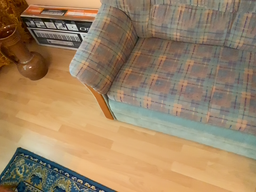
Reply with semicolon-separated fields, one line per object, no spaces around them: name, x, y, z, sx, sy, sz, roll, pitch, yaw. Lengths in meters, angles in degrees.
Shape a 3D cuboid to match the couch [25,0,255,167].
couch;0.550;-0.270;1.250;1.690;0.870;0.940;13;60;21
